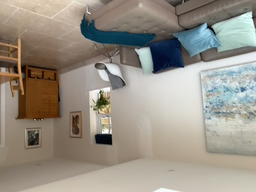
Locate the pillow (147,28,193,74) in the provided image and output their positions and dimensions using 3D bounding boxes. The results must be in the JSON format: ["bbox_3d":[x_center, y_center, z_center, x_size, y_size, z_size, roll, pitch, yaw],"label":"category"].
[{"bbox_3d":[0.620,-0.670,3.200,0.270,0.460,0.450,3,143,-48],"label":"pillow"}]

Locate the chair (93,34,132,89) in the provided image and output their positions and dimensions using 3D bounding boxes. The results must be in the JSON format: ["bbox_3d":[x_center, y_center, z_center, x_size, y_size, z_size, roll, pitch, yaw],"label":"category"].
[{"bbox_3d":[-0.320,-0.630,4.100,0.600,0.910,0.600,-1,175,-17],"label":"chair"}]

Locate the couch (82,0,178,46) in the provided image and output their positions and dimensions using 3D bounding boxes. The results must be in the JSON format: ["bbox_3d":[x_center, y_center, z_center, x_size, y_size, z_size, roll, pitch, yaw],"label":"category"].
[{"bbox_3d":[0.010,-1.030,2.650,0.940,0.420,0.720,-7,173,42],"label":"couch"}]

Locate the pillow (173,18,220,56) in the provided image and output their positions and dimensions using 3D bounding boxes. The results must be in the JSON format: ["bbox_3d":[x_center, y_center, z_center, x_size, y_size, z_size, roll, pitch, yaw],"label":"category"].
[{"bbox_3d":[0.920,-0.770,2.860,0.440,0.310,0.410,-8,173,44],"label":"pillow"}]
